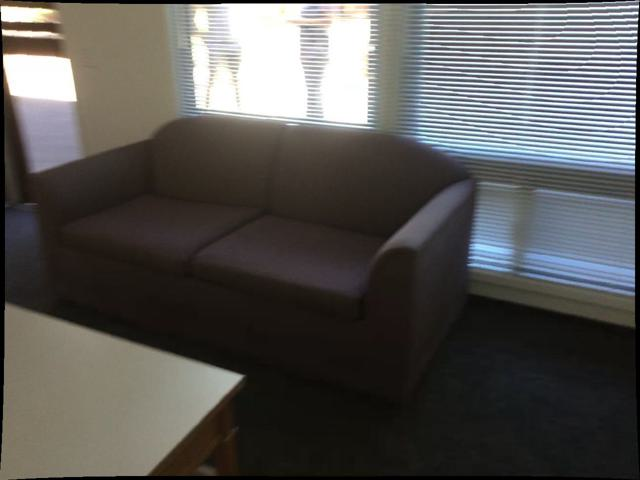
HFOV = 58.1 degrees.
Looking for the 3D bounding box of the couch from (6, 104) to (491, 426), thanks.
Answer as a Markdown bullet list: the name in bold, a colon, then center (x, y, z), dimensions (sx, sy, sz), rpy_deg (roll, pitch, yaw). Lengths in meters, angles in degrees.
- **couch**: center (-0.280, -0.050, 2.530), dimensions (1.768, 0.791, 0.920), rpy_deg (11, 26, 24)
